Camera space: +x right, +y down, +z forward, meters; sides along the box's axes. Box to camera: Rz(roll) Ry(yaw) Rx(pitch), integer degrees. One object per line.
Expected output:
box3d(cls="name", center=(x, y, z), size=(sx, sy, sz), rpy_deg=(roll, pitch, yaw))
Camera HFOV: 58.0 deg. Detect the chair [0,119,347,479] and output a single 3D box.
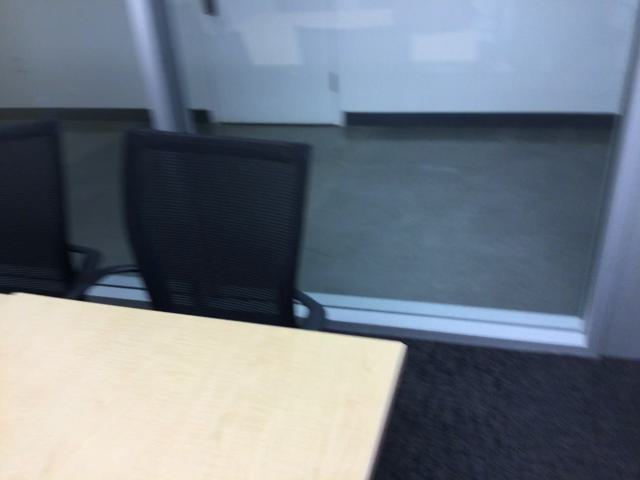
box3d(cls="chair", center=(-0.290, 0.260, 1.240), size=(0.490, 0.880, 0.580), rpy_deg=(3, 28, 18))
